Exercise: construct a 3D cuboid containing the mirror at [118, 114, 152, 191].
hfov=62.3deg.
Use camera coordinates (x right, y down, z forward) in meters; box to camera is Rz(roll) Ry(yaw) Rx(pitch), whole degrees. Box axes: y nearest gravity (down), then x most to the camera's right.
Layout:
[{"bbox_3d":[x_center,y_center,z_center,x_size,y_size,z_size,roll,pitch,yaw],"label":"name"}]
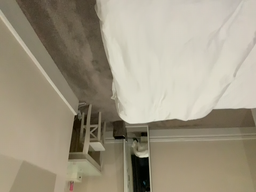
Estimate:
[{"bbox_3d":[0.120,1.110,3.180,0.470,1.740,0.170,1,152,6],"label":"mirror"}]
